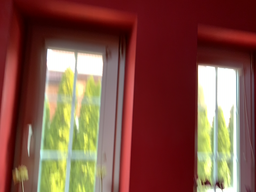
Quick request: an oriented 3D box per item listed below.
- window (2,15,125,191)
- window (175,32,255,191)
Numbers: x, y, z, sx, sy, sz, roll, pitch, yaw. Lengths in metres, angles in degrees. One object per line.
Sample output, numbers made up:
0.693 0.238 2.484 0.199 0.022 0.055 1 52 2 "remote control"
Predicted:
-0.340 0.180 1.200 0.560 1.160 0.170 4 -6 -12 "window"
0.590 0.230 1.380 0.520 1.210 0.140 4 -6 -11 "window"
